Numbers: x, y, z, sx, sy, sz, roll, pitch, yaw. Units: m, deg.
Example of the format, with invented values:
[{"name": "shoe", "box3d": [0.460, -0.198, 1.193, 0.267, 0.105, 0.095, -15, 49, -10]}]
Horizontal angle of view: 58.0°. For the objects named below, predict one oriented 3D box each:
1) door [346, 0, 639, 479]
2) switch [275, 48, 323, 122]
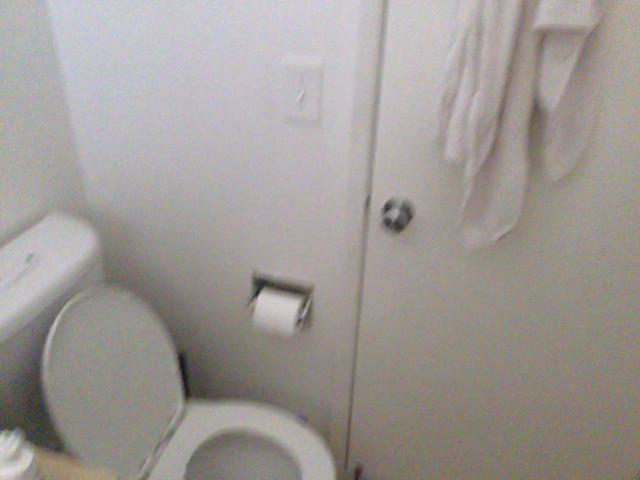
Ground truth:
[{"name": "door", "box3d": [0.450, -0.090, 1.020, 0.760, 1.960, 0.080, 11, 34, 16]}, {"name": "switch", "box3d": [-0.040, -0.300, 1.120, 0.090, 0.130, 0.020, 11, 34, 16]}]
